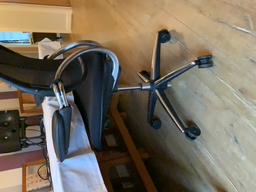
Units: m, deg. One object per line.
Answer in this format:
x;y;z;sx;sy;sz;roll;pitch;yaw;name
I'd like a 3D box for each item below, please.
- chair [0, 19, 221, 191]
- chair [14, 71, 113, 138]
-0.230;-0.010;1.140;0.660;1.080;0.680;-138;47;-57;chair
-0.740;0.060;2.450;0.520;0.970;0.450;-122;35;-45;chair
